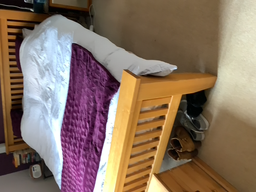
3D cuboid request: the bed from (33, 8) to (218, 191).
[{"bbox_3d":[-0.470,0.290,2.360,2.210,0.630,2.000,39,127,46],"label":"bed"}]
